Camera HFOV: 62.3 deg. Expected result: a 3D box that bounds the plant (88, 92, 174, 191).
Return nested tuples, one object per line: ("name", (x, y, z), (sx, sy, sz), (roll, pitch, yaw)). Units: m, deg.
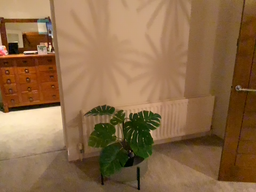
("plant", (-0.020, 0.450, 2.160), (0.620, 0.730, 0.780), (-6, 19, -16))
